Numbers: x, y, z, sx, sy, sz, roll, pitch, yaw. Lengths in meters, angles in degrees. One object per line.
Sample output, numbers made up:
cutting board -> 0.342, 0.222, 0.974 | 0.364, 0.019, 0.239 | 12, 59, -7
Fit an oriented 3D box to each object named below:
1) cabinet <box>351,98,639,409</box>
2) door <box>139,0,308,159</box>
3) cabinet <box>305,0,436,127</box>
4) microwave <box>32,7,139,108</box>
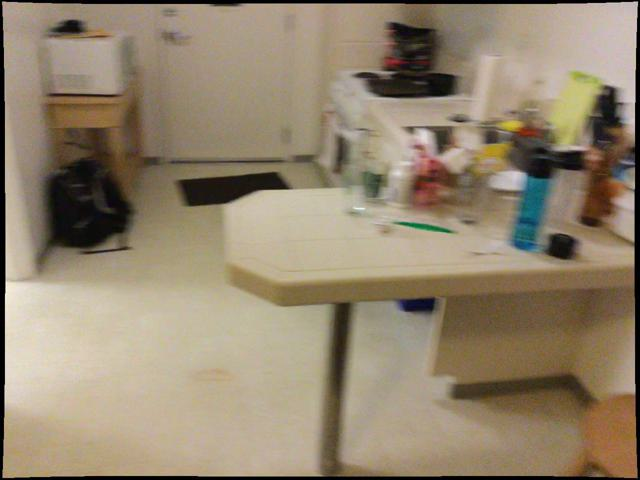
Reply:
cabinet -> 0.609, -0.050, 2.530 | 0.639, 0.831, 1.270 | -1, 27, -10
door -> -0.649, -1.572, 3.970 | 1.119, 2.092, 0.120 | -1, 27, -10
cabinet -> 0.330, -1.772, 3.720 | 0.689, 1.942, 0.660 | -1, 27, -10
microwave -> -1.309, -1.061, 3.320 | 0.410, 0.440, 0.660 | -2, 27, -10
